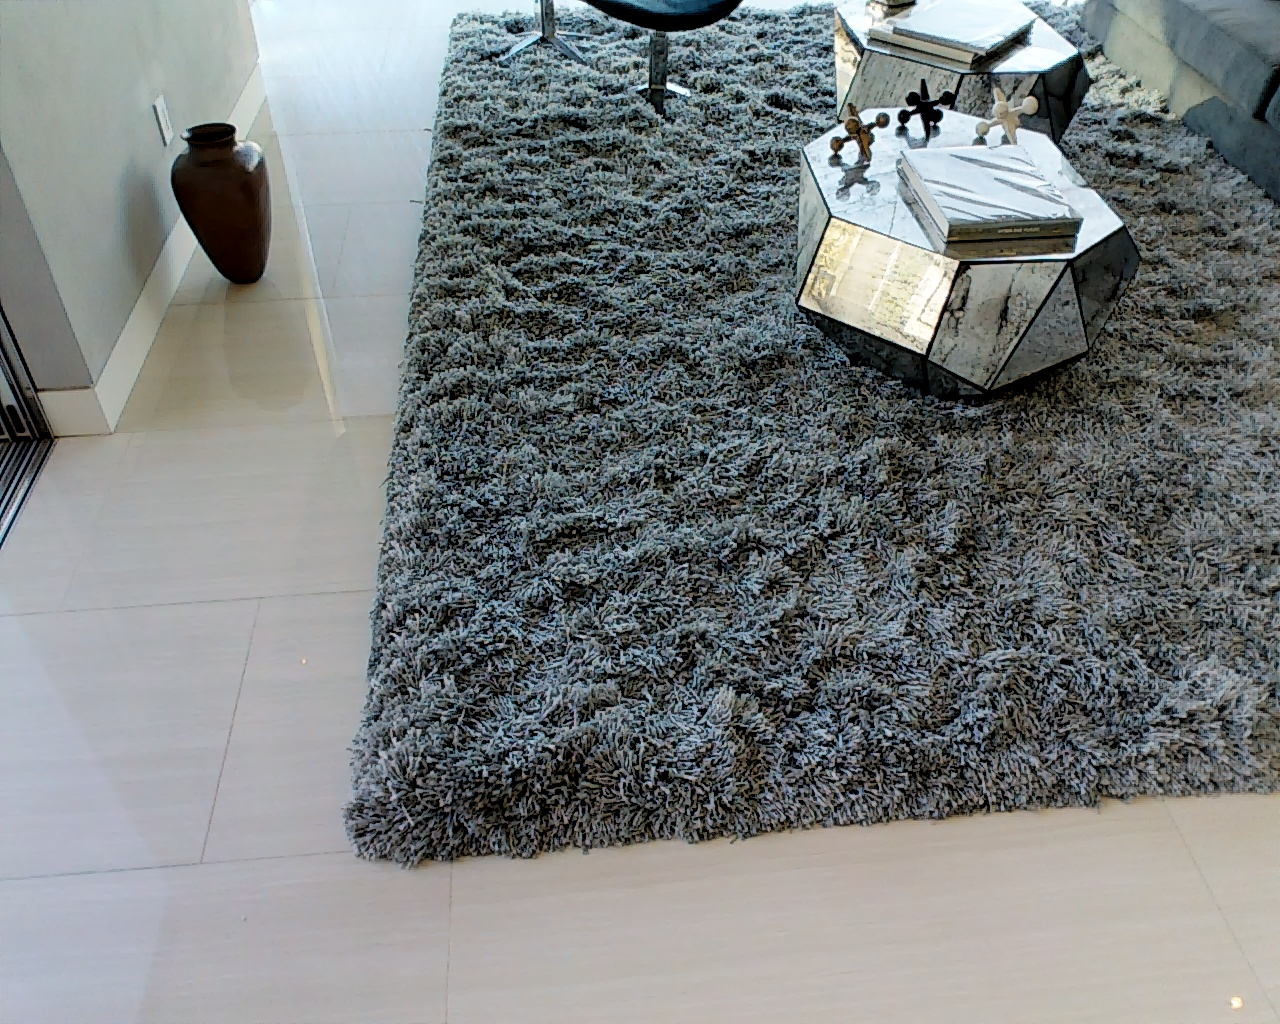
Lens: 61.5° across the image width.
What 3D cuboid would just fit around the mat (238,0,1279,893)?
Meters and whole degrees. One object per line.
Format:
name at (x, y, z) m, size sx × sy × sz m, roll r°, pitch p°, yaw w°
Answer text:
mat at (0.810, -0.990, 3.400) m, size 3.280 × 0.130 × 4.350 m, roll -4°, pitch 42°, yaw -5°

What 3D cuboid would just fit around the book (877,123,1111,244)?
book at (0.800, -0.770, 2.490) m, size 0.380 × 0.060 × 0.480 m, roll -3°, pitch 42°, yaw -4°
